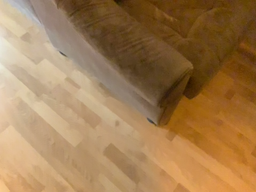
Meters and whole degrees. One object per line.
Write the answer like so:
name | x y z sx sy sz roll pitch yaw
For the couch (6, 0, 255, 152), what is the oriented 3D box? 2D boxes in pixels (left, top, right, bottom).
couch | 0.100 -0.500 0.930 0.900 0.860 0.930 38 69 18
